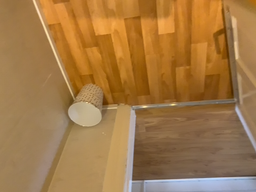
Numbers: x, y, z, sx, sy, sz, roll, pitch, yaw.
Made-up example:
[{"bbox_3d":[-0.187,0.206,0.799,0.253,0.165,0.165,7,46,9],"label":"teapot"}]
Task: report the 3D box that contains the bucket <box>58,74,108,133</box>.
[{"bbox_3d":[-0.310,0.050,1.520,0.190,0.290,0.240,36,122,-22],"label":"bucket"}]
